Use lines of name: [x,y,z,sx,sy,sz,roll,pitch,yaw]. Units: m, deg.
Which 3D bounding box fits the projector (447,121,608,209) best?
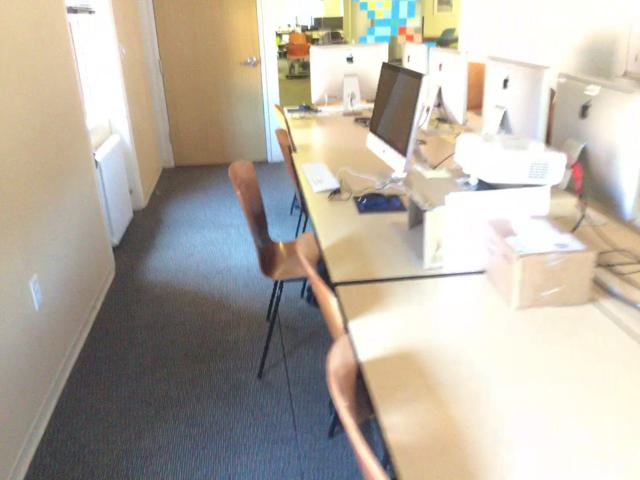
projector: [0.580,-0.230,1.680,0.310,0.150,0.330,-5,24,-8]
